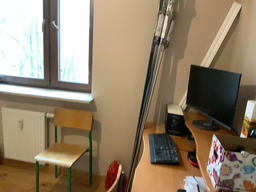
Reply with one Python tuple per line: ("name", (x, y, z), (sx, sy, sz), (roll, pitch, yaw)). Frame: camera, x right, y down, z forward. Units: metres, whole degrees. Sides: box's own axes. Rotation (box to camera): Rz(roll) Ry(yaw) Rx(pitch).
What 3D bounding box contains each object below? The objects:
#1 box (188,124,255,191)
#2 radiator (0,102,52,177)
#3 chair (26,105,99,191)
("box", (0.510, 0.350, 0.990), (0.380, 0.300, 0.300), (7, 13, 9))
("radiator", (-1.170, 0.480, 2.360), (0.620, 0.740, 0.140), (7, 13, 9))
("chair", (-0.610, 0.560, 2.090), (0.480, 0.790, 0.500), (7, 14, 9))
